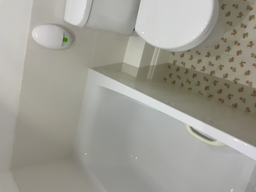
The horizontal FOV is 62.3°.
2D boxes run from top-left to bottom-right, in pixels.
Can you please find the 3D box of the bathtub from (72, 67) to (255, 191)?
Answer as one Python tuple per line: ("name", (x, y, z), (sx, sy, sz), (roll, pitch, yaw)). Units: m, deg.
("bathtub", (0.410, 0.410, 1.080), (1.640, 0.550, 0.680), (27, 108, 43))
